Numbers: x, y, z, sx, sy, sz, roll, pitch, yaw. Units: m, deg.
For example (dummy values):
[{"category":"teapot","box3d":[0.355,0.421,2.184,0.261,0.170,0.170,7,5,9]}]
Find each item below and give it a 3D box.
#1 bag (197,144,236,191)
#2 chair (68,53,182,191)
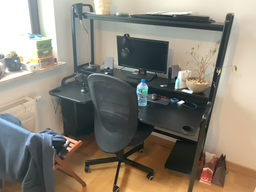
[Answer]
[{"category":"bag","box3d":[0.860,0.670,2.040,0.260,0.180,0.370,16,27,26]},{"category":"chair","box3d":[-0.020,0.210,1.930,0.700,1.000,0.650,15,27,25]}]
